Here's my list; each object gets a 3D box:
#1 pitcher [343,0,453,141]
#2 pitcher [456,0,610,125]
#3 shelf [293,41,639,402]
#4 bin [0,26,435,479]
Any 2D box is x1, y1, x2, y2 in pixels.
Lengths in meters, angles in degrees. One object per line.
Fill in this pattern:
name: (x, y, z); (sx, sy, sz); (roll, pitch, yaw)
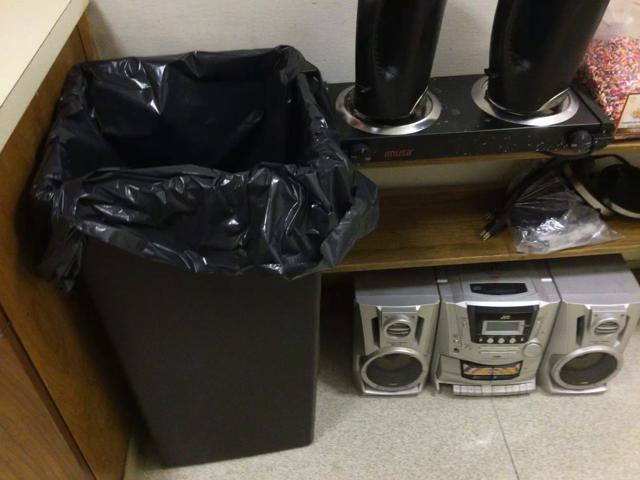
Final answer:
pitcher: (0.120, -0.320, 0.950); (0.140, 0.280, 0.120); (-4, 43, -5)
pitcher: (0.350, -0.350, 0.970); (0.170, 0.270, 0.130); (-4, 43, -5)
shelf: (0.480, -0.020, 1.350); (1.040, 0.760, 0.320); (-4, 43, -5)
bin: (-0.150, 0.100, 1.150); (0.520, 0.820, 0.550); (-4, 43, -5)
